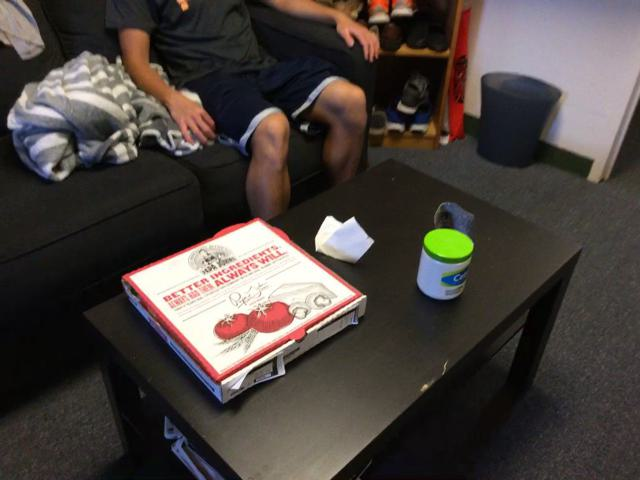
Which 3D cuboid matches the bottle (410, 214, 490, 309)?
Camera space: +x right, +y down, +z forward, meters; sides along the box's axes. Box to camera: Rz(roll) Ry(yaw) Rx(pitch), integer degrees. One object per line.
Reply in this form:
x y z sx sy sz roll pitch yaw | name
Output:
0.250 0.040 1.120 0.090 0.120 0.110 29 44 31 | bottle

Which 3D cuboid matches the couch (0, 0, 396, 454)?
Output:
-0.860 -0.230 1.530 1.000 0.900 2.130 29 44 31 | couch

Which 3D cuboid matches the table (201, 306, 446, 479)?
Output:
0.020 0.250 0.930 0.190 0.010 0.380 29 44 31 | table

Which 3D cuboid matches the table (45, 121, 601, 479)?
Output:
0.060 0.220 1.280 0.610 0.530 0.940 29 44 31 | table
